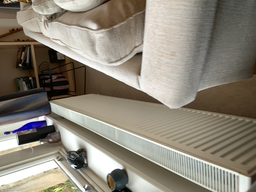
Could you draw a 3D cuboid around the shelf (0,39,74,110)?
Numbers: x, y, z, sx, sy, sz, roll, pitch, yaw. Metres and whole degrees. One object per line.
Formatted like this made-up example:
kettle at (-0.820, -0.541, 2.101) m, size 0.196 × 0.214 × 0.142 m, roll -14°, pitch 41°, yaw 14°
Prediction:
shelf at (-1.540, -0.310, 2.940) m, size 0.480 × 1.370 × 0.860 m, roll 7°, pitch 104°, yaw 54°
